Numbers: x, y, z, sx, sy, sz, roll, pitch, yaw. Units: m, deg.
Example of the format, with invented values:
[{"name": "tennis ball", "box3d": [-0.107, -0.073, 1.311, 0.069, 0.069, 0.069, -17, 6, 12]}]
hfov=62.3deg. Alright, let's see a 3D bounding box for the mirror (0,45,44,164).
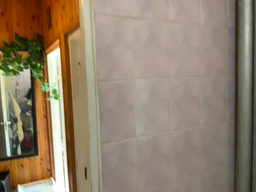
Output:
[{"name": "mirror", "box3d": [-1.280, 0.090, 2.360, 0.550, 1.290, 0.050, -5, 6, -27]}]
